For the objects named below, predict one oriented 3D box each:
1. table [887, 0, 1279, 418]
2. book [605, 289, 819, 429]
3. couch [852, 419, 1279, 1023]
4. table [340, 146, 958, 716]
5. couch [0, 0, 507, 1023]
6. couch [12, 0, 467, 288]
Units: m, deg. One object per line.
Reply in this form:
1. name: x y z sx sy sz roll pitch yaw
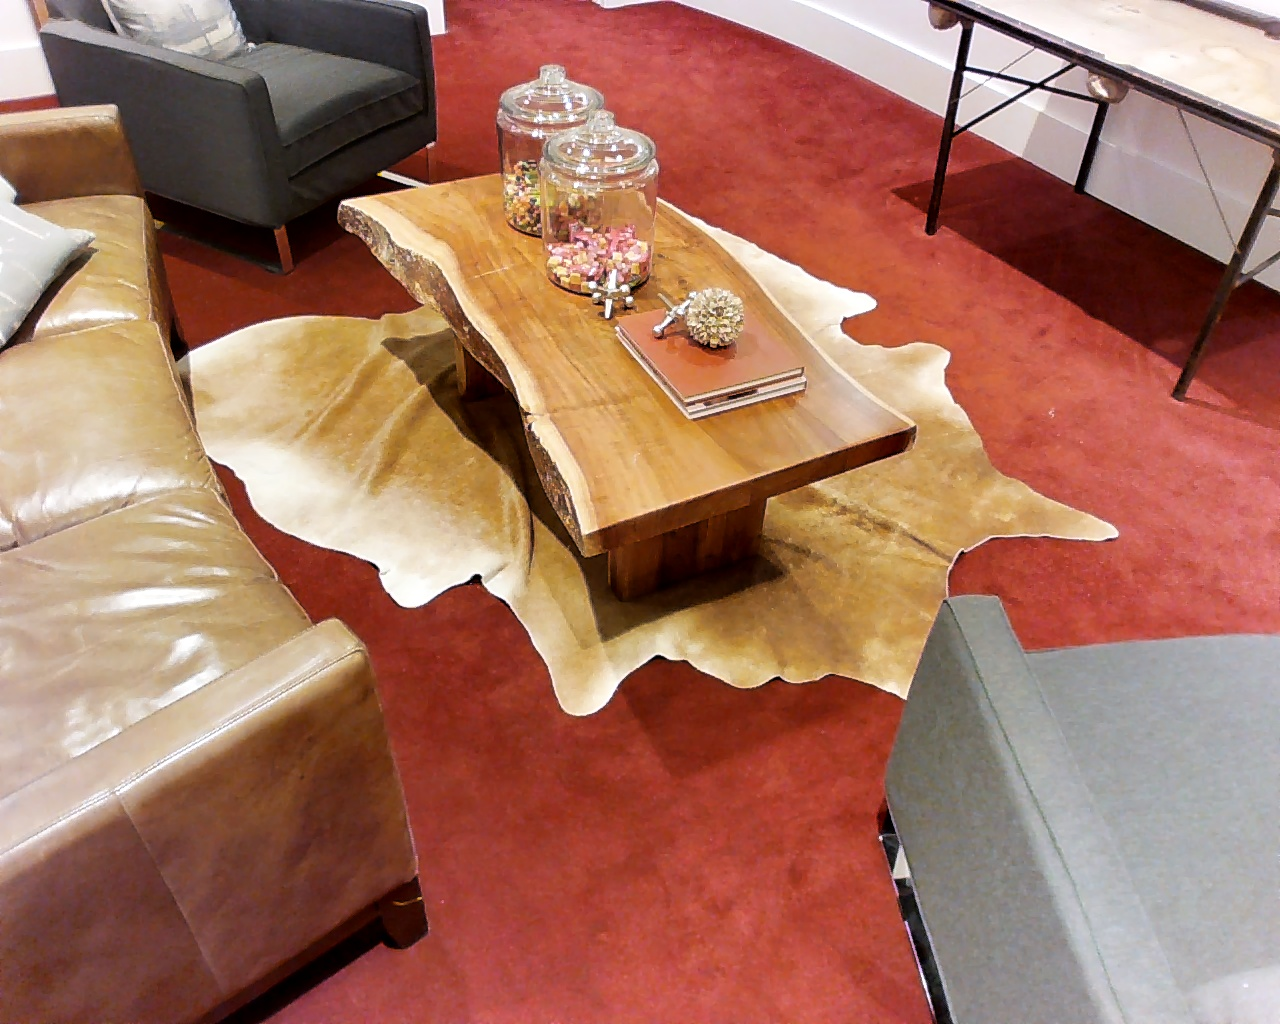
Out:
1. table: 1.490 -1.000 3.010 0.760 0.670 1.390 -19 45 -22
2. book: 0.130 -0.300 2.040 0.280 0.050 0.320 -18 44 -21
3. couch: 0.810 0.460 1.280 0.810 0.750 0.900 -2 41 -4
4. table: -0.070 -0.290 2.370 0.730 0.450 1.310 -19 45 -22
5. couch: -1.230 -0.070 1.780 1.150 0.880 2.260 -19 45 -22
6. couch: -1.160 -1.270 3.280 0.880 0.670 0.820 22 45 22
